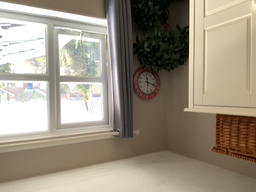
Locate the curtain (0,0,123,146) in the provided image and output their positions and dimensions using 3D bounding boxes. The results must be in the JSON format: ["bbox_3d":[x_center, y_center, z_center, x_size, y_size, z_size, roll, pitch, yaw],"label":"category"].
[{"bbox_3d":[-0.620,-0.190,1.850,1.180,1.090,0.180,-2,-178,-30],"label":"curtain"}]

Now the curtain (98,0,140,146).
[{"bbox_3d":[-0.080,-0.300,1.930,0.280,1.420,0.230,-2,-178,-31],"label":"curtain"}]
